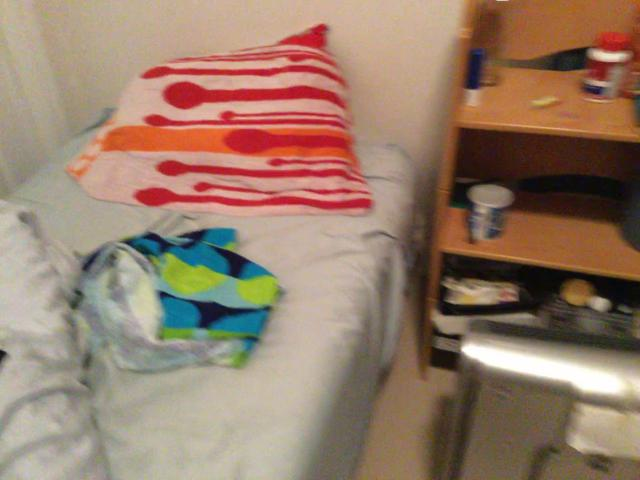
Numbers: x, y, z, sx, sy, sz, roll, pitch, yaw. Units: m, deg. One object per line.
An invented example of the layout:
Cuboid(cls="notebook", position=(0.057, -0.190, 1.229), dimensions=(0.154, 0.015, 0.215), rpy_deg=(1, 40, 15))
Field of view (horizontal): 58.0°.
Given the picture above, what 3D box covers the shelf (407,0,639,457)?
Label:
Cuboid(cls="shelf", position=(0.590, -0.100, 1.220), dimensions=(0.660, 1.070, 0.410), rpy_deg=(11, 36, 18))
